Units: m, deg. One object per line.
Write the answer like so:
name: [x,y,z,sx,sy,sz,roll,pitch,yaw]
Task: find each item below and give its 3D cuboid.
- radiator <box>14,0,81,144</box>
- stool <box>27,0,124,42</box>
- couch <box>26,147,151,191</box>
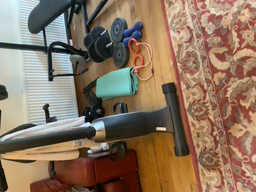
radiator: [-0.950,-0.370,2.520,0.140,0.600,1.750,-14,81,53]
stool: [-0.500,-0.950,2.020,1.170,0.620,0.330,-21,76,52]
couch: [-0.400,1.050,1.970,1.110,0.720,0.980,-21,76,52]
